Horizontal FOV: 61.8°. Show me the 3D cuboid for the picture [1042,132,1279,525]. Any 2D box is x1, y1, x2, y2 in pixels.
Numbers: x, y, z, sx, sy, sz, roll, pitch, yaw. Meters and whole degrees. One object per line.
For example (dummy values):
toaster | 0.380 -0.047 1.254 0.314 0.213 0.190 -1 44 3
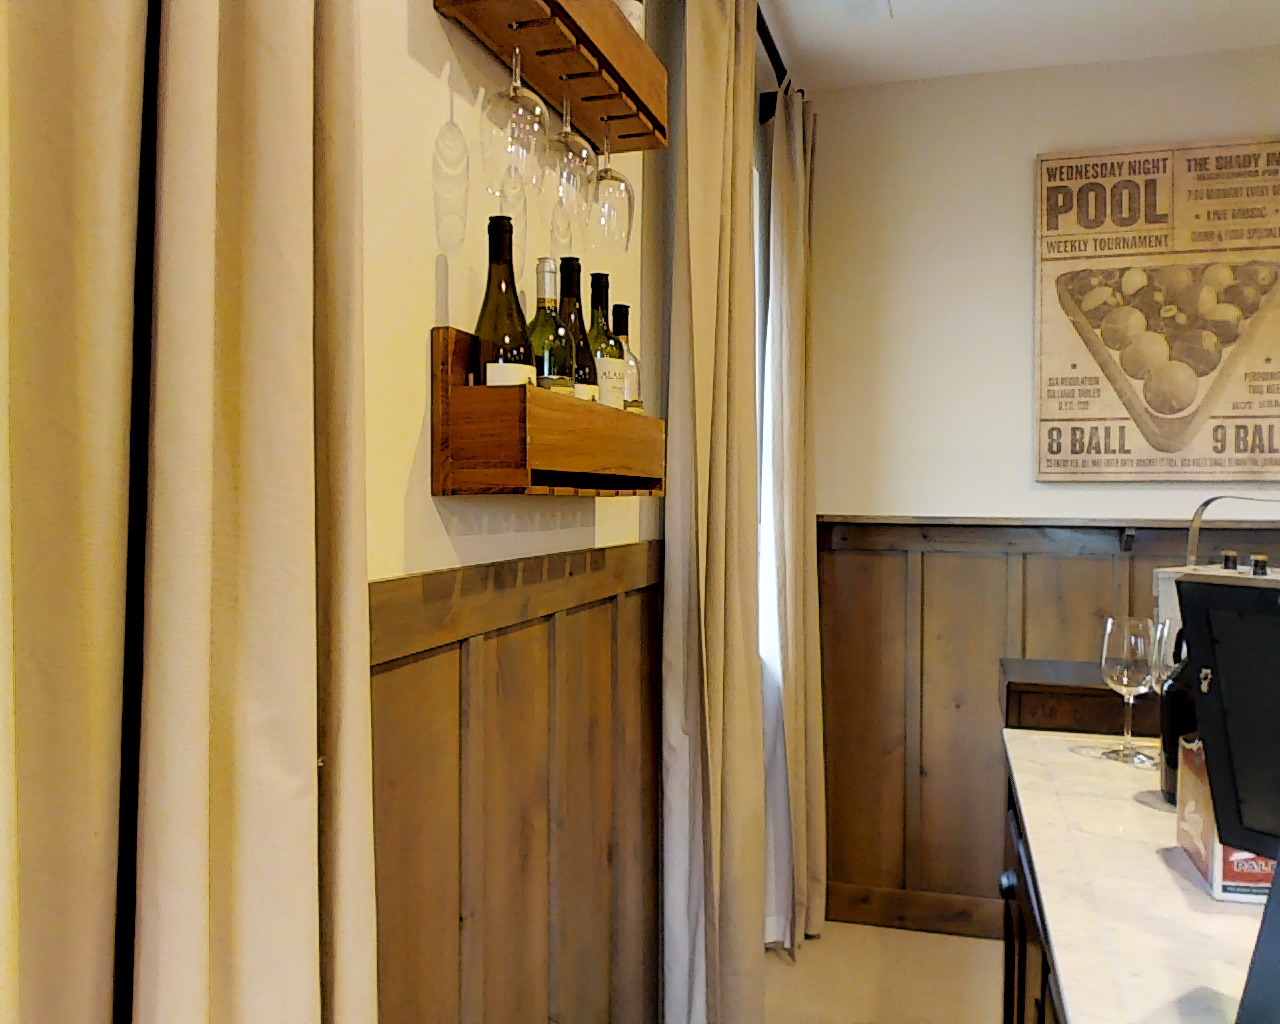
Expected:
picture | 1.610 -0.530 3.180 0.770 1.130 0.040 0 1 17
